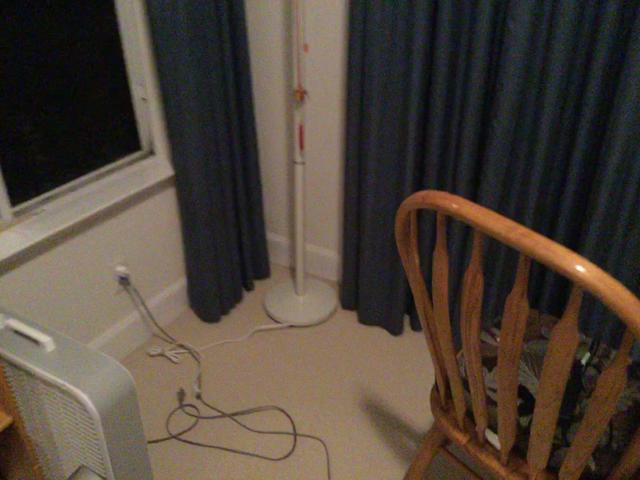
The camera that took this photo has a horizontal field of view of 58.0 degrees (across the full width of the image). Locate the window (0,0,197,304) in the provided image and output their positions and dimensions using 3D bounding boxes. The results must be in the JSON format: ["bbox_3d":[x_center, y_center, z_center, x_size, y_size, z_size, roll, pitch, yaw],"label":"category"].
[{"bbox_3d":[-0.820,-0.350,1.510,0.250,0.890,1.030,13,30,28],"label":"window"}]

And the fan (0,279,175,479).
[{"bbox_3d":[-0.610,0.430,1.400,0.490,0.560,0.160,13,30,28],"label":"fan"}]
